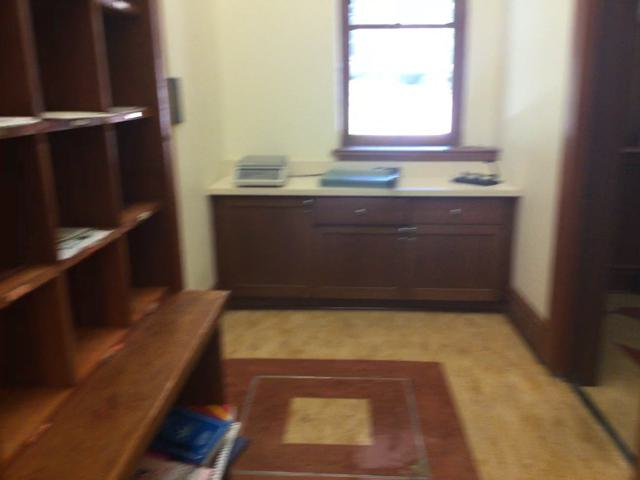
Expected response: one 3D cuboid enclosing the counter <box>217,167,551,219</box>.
[{"bbox_3d":[0.380,-0.320,3.760,1.960,0.220,0.670,1,13,4],"label":"counter"}]
